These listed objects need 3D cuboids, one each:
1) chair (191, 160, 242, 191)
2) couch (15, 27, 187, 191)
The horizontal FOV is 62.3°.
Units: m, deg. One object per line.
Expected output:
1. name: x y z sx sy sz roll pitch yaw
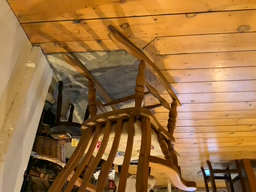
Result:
1. chair: 1.220 1.430 2.840 0.500 1.030 0.420 0 146 1
2. couch: -0.080 0.350 1.210 0.580 1.150 0.710 -18 141 25
